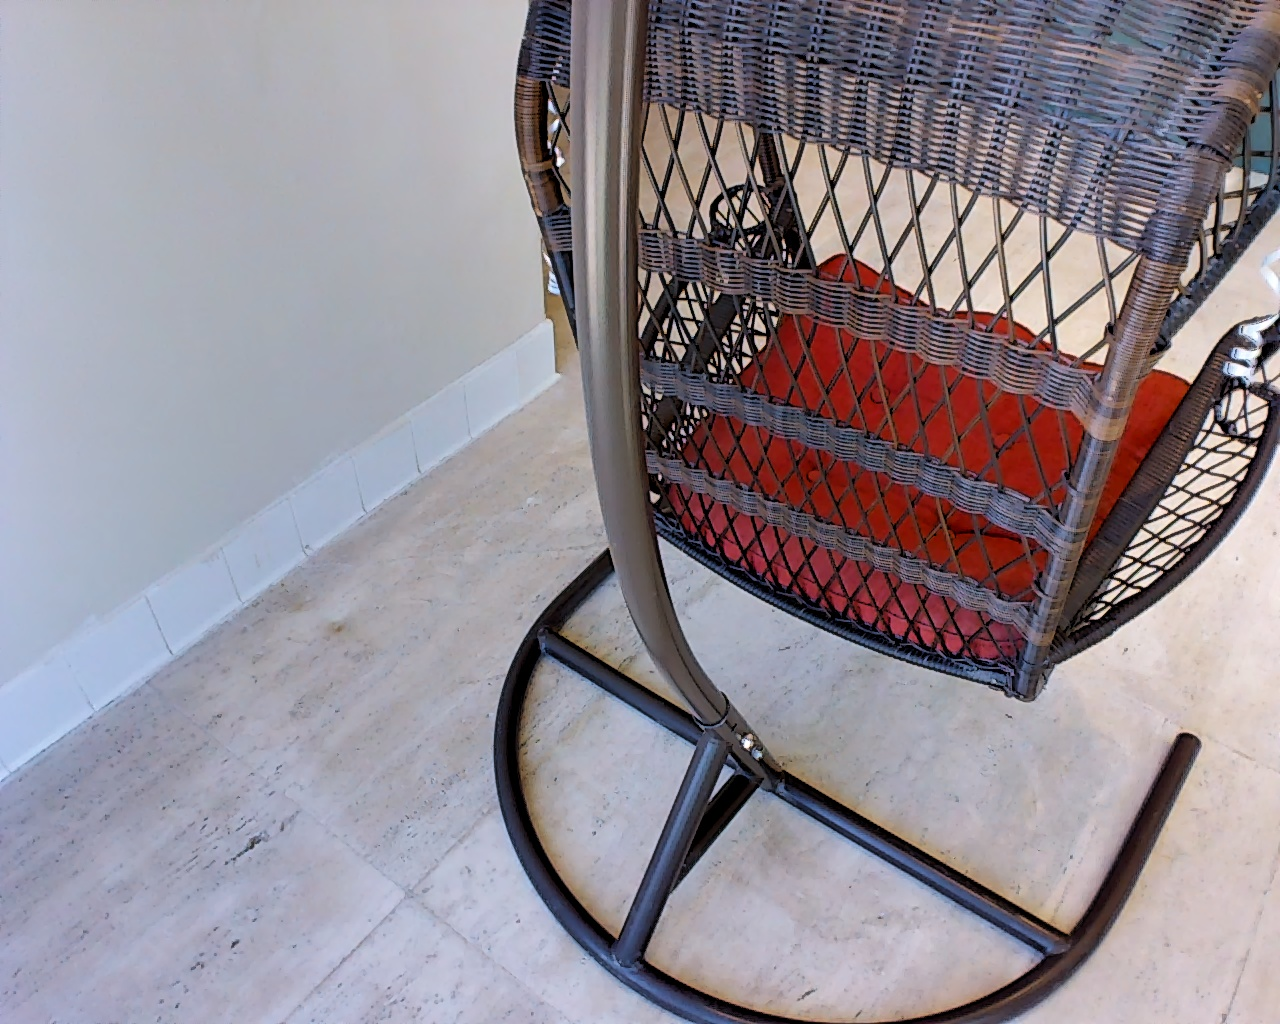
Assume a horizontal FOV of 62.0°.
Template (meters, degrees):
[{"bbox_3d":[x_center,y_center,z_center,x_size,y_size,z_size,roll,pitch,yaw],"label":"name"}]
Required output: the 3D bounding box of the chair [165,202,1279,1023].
[{"bbox_3d":[0.230,0.190,1.470,1.140,0.590,1.060,27,48,27],"label":"chair"}]
